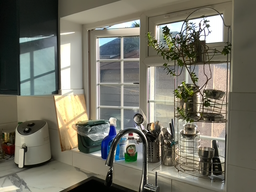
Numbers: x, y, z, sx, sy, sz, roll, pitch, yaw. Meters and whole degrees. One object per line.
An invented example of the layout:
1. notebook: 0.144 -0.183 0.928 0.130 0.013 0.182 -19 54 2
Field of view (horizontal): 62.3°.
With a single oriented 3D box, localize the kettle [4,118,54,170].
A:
1. kettle: -0.760 0.350 1.640 0.230 0.310 0.270 2 4 37
